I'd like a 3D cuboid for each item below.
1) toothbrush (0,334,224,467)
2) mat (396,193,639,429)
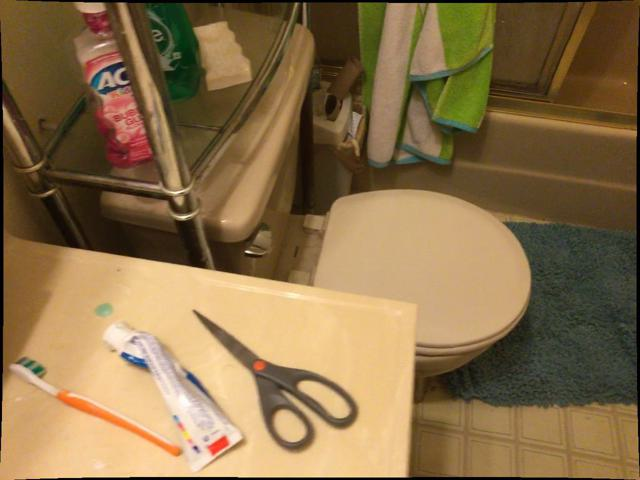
[{"bbox_3d":[-0.200,0.150,0.550,0.200,0.020,0.070,13,53,10],"label":"toothbrush"},{"bbox_3d":[0.679,0.160,1.490,0.939,0.080,0.630,3,52,2],"label":"mat"}]
